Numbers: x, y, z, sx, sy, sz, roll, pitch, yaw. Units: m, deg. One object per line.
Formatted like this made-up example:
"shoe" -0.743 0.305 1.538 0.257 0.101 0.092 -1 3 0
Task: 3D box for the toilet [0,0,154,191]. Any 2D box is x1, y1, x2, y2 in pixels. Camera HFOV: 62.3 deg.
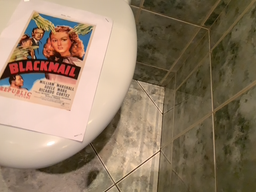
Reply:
"toilet" -0.190 -0.030 0.630 0.360 0.460 0.510 15 60 -7
